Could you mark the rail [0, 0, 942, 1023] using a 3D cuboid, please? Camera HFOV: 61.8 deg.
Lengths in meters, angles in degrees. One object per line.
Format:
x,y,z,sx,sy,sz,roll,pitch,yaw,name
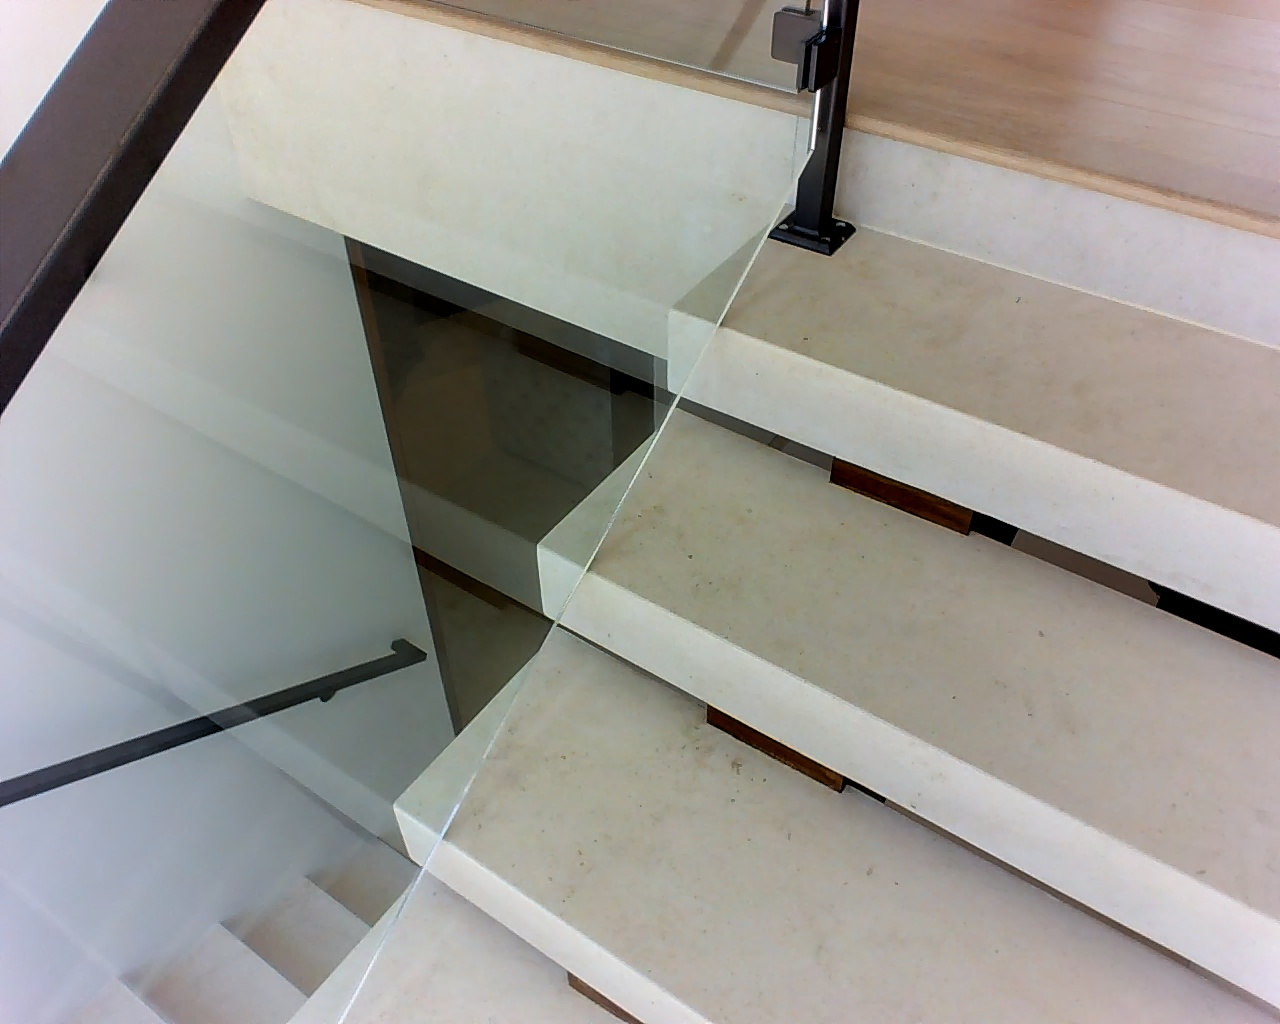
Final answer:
-0.390,0.260,0.740,0.160,1.740,2.350,25,49,25,rail
